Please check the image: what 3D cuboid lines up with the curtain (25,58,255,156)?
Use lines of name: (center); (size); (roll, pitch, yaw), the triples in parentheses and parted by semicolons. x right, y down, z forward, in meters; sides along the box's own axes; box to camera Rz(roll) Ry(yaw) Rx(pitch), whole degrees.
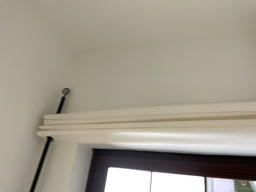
curtain: (0.340, 0.060, 1.130); (0.200, 1.940, 0.430); (55, -142, -55)
